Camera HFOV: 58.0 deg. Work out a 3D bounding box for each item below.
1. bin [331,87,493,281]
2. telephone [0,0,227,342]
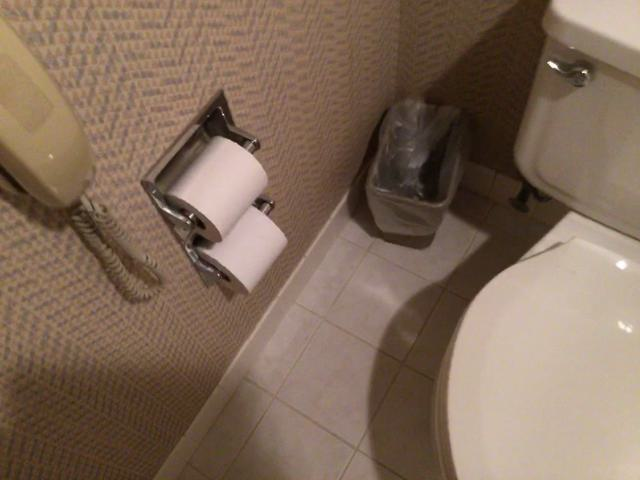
[{"bbox_3d":[0.200,-0.120,1.290,0.230,0.270,0.260,27,66,19],"label":"bin"},{"bbox_3d":[-0.200,-0.050,0.510,0.100,0.460,0.090,27,66,19],"label":"telephone"}]
